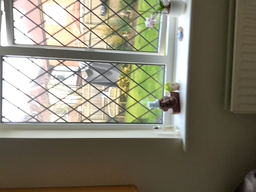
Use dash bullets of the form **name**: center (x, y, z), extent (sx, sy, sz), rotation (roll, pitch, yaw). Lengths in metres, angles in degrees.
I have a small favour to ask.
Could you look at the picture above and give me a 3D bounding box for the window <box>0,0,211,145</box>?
- **window**: center (-0.310, -0.550, 1.490), extent (0.520, 1.620, 1.660), rotation (176, 95, -81)
